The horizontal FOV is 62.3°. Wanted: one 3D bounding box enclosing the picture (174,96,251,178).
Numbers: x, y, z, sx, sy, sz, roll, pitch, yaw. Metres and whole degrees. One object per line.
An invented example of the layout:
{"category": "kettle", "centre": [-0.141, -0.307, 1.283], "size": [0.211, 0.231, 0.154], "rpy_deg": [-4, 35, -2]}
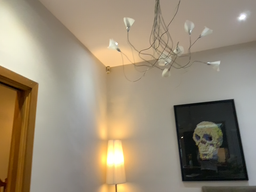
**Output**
{"category": "picture", "centre": [1.170, 0.600, 3.080], "size": [0.890, 1.100, 0.060], "rpy_deg": [-8, -17, 18]}
